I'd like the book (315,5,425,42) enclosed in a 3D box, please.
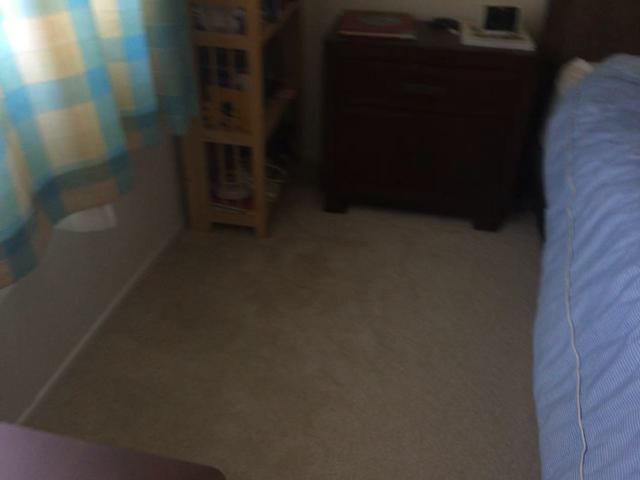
[{"bbox_3d":[0.190,-0.780,2.070,0.340,0.050,0.360,7,31,11],"label":"book"}]

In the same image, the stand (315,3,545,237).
[{"bbox_3d":[0.380,-0.470,2.180,0.710,0.700,0.460,7,31,11],"label":"stand"}]

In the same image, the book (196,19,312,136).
[{"bbox_3d":[-0.210,-0.610,2.090,0.220,0.250,0.620,7,31,11],"label":"book"}]
